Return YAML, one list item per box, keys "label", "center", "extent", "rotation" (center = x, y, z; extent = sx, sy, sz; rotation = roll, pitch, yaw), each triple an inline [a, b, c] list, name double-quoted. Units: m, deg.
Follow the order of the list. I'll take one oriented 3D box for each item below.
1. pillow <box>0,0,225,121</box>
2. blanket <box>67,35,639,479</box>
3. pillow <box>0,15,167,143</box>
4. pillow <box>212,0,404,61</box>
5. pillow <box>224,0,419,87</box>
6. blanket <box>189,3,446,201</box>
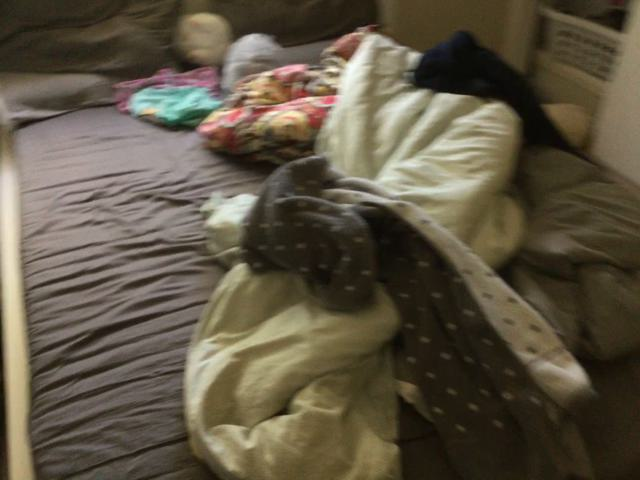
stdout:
- label: "pillow"
  center: [-0.760, -0.720, 1.890]
  extent: [0.790, 0.440, 0.300]
  rotation: [-16, 40, -19]
- label: "blanket"
  center: [0.240, -0.040, 1.190]
  extent: [1.280, 0.300, 0.900]
  rotation: [-16, 40, -19]
- label: "pillow"
  center: [-0.850, -0.550, 1.920]
  extent: [0.550, 0.190, 0.440]
  rotation: [-16, 40, -19]
- label: "pillow"
  center: [-0.040, -0.930, 2.140]
  extent: [0.680, 0.350, 0.240]
  rotation: [-16, 40, -19]
- label: "pillow"
  center: [0.010, -0.760, 2.150]
  extent: [0.660, 0.180, 0.260]
  rotation: [-16, 40, -19]
- label: "blanket"
  center: [-0.020, -0.420, 1.650]
  extent: [0.560, 0.310, 0.440]
  rotation: [-16, 40, -19]
